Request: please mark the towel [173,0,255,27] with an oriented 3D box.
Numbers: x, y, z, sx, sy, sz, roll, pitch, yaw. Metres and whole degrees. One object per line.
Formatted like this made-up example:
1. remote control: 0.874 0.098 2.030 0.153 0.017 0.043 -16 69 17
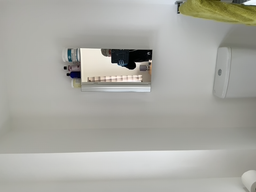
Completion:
1. towel: 0.610 -0.550 1.290 0.410 0.560 0.190 -112 23 -78
